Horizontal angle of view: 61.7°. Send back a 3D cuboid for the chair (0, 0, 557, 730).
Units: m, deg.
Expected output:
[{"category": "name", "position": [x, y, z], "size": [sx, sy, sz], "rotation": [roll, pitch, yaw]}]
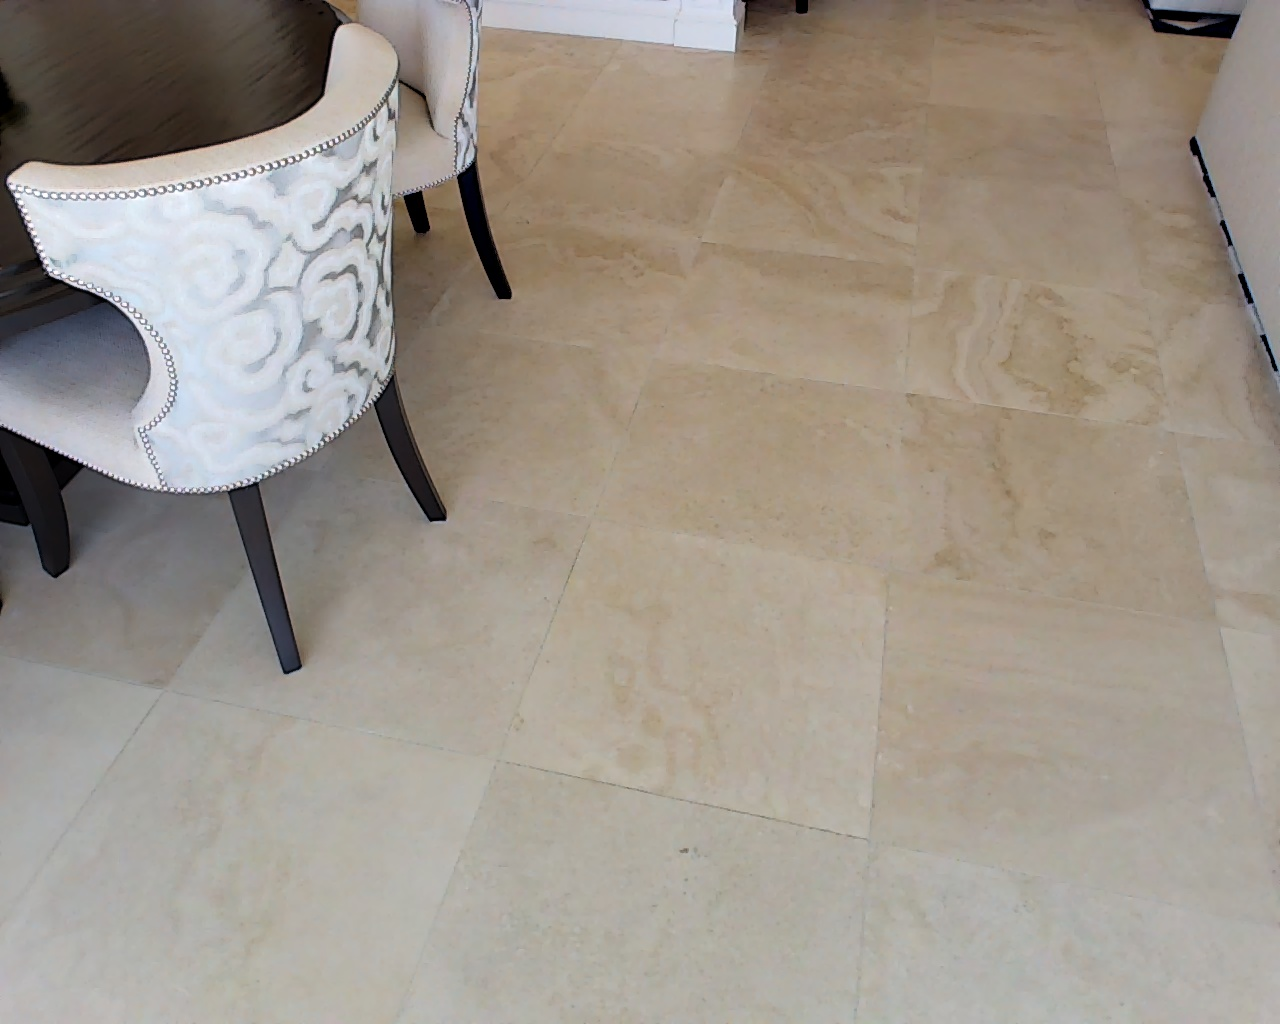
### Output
[{"category": "chair", "position": [-0.700, -0.330, 1.850], "size": [0.800, 0.910, 0.740], "rotation": [22, 46, 22]}]
